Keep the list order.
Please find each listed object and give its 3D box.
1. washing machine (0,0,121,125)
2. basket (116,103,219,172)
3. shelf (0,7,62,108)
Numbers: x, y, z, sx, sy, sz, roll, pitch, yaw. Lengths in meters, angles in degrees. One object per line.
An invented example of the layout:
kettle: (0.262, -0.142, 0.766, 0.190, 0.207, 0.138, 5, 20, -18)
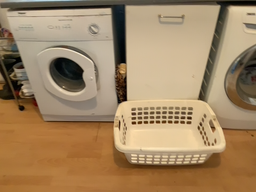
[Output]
washing machine: (-0.380, -0.300, 1.620, 0.590, 0.830, 0.620, -1, 37, 1)
basket: (0.220, 0.260, 1.370, 0.560, 0.240, 0.360, -1, 37, 1)
shelf: (-0.790, -0.310, 1.740, 0.240, 0.680, 0.450, -2, 37, 0)
